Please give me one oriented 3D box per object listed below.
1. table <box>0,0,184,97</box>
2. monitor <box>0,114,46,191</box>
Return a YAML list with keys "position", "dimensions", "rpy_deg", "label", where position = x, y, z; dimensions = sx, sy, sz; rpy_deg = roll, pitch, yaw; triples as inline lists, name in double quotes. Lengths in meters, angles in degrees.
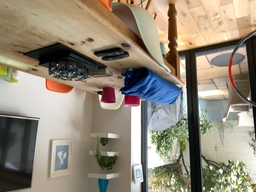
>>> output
- position: [-0.380, -0.560, 1.470]
  dimensions: [1.010, 0.760, 1.810]
  rpy_deg: [-5, 167, 30]
  label: "table"
- position: [-1.280, 0.510, 1.810]
  dimensions: [0.040, 0.740, 1.220]
  rpy_deg: [-2, 169, 32]
  label: "monitor"
